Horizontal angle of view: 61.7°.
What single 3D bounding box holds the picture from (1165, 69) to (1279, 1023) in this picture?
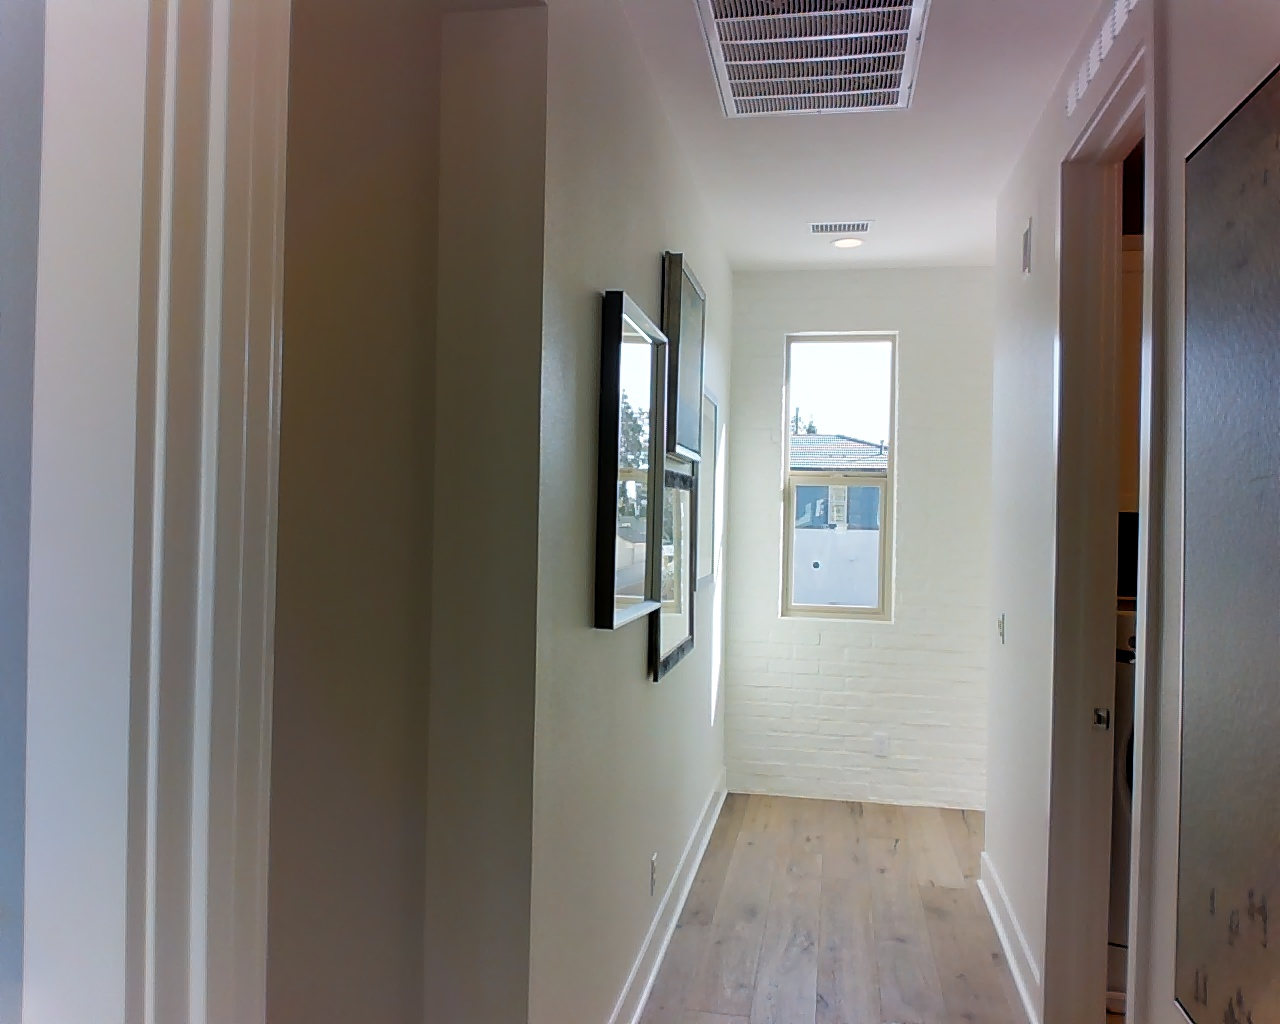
[{"bbox_3d":[0.830,0.110,1.320,0.050,1.391,0.940,2,0,11],"label":"picture"}]
